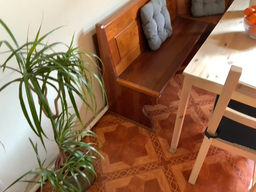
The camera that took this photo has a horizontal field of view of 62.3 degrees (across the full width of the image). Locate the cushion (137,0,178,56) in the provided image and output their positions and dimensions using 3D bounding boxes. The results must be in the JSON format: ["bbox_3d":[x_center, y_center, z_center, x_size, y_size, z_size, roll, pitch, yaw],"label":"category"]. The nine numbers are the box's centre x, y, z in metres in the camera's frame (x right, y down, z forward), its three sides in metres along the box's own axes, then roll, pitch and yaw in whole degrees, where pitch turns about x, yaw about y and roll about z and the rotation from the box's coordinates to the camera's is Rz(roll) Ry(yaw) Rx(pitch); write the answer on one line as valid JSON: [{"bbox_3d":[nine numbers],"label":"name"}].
[{"bbox_3d":[0.270,-0.630,1.810,0.150,0.370,0.410,20,60,27],"label":"cushion"}]

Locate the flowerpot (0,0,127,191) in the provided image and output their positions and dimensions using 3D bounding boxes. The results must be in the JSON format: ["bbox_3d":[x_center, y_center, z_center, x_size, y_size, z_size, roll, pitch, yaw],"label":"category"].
[{"bbox_3d":[-0.320,0.180,1.010,0.460,1.110,0.440,23,49,22],"label":"flowerpot"}]

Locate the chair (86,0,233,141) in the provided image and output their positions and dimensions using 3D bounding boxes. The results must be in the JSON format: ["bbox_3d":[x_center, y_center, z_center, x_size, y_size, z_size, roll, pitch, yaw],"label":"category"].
[{"bbox_3d":[0.490,-0.610,2.090,0.650,0.780,1.890,21,48,21],"label":"chair"}]
